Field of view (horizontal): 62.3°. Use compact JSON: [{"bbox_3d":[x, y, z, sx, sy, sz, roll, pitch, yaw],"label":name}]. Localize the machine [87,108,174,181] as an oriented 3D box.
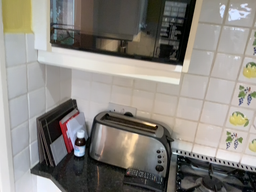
[{"bbox_3d":[0.020,0.210,1.000,0.350,0.180,0.210,11,19,12],"label":"machine"}]
